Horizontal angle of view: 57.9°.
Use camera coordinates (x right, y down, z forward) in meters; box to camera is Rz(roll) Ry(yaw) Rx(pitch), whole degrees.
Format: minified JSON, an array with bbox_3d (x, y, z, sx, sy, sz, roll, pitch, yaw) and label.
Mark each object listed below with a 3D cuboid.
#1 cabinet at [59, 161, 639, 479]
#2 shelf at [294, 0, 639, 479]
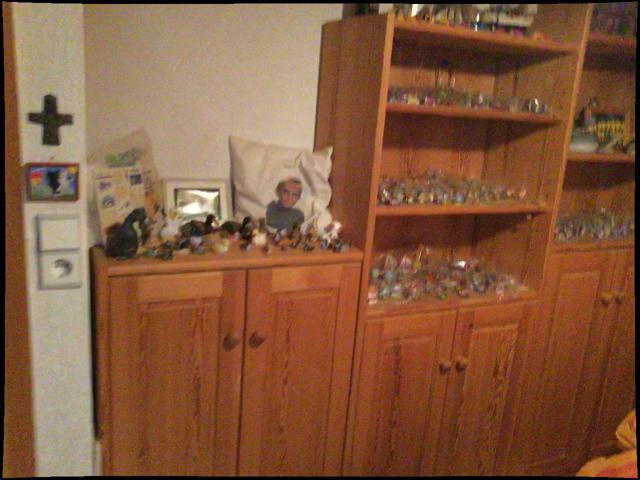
[{"bbox_3d":[0.430,0.400,2.070,2.388,1.271,0.300,-5,19,-25],"label":"cabinet"},{"bbox_3d":[0.959,-0.080,2.270,1.998,2.132,0.520,-5,19,-25],"label":"shelf"}]
